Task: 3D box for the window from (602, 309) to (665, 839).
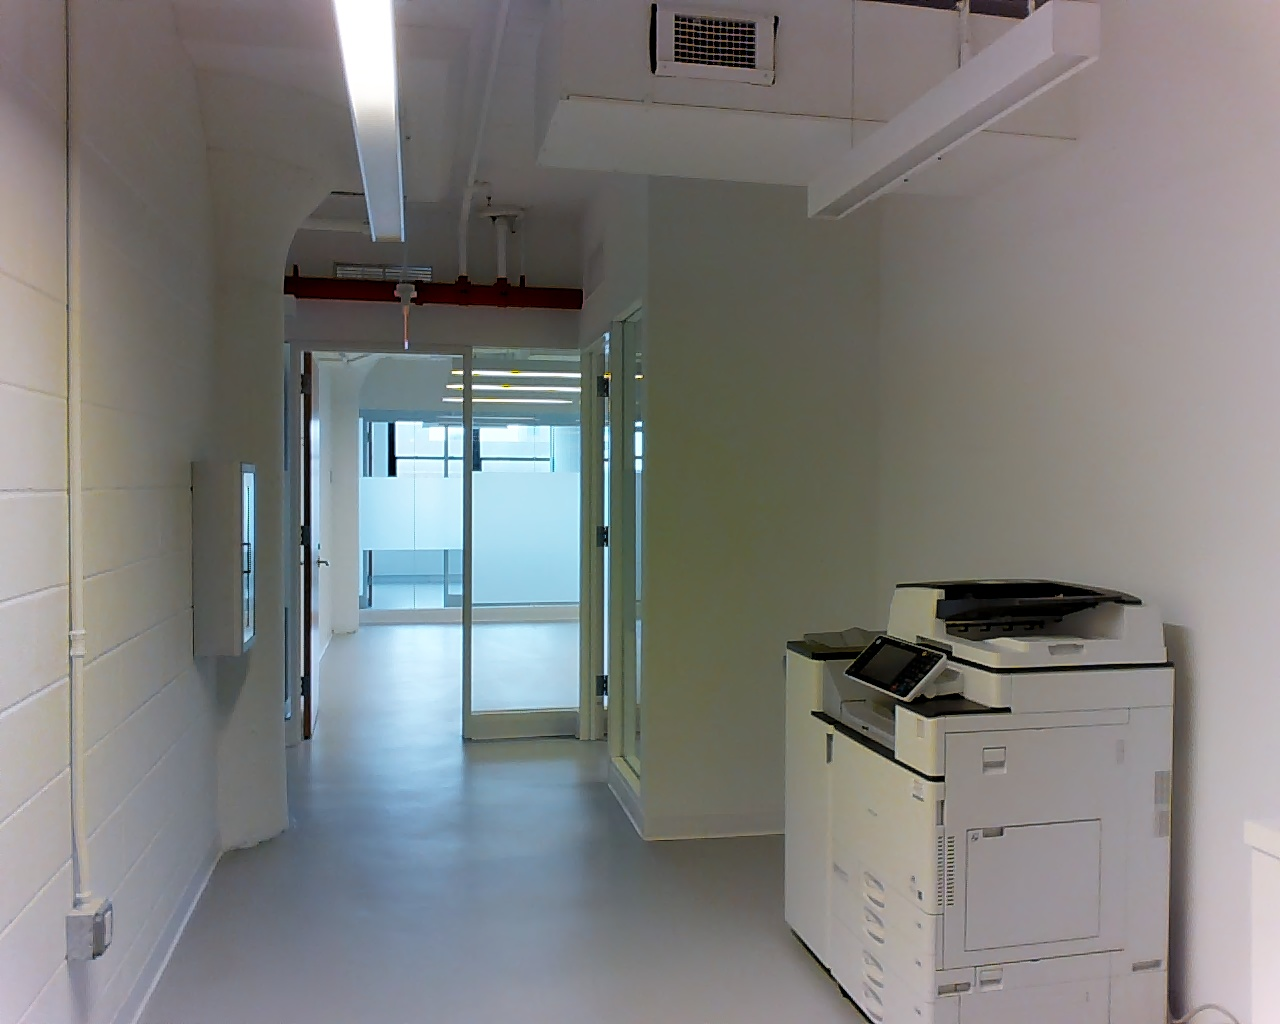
[{"bbox_3d":[-0.040,0.260,4.890,0.120,2.230,0.760,0,1,-13],"label":"window"}]
